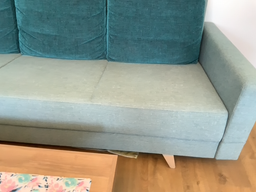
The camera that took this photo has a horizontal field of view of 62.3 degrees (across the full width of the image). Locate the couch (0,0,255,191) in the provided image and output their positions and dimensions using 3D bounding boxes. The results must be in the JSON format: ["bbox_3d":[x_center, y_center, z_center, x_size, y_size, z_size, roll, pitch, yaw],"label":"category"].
[{"bbox_3d":[-0.430,-0.230,1.440,2.350,0.830,1.110,5,34,4],"label":"couch"}]
